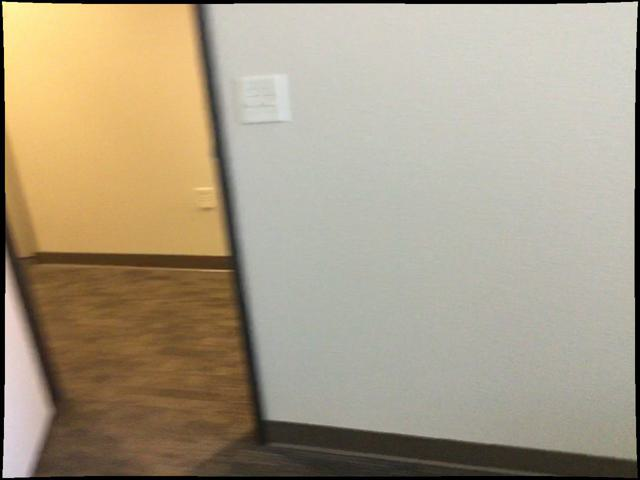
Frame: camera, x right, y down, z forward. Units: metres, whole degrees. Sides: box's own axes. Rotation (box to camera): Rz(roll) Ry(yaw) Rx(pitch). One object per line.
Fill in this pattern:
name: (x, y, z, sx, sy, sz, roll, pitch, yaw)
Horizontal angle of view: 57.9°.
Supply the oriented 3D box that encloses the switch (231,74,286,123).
switch: (-0.160, -0.370, 1.520, 0.130, 0.120, 0.030, 4, 25, 17)
